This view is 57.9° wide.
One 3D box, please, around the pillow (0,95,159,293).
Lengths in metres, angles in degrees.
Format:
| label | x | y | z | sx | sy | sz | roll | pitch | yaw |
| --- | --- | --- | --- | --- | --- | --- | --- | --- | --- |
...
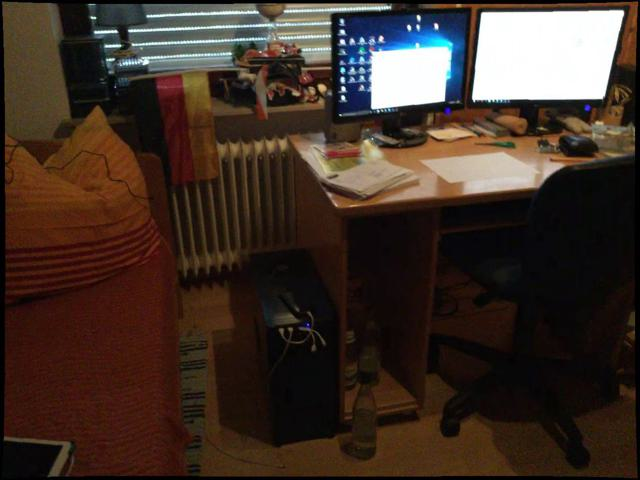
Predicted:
| label | x | y | z | sx | sy | sz | roll | pitch | yaw |
| --- | --- | --- | --- | --- | --- | --- | --- | --- | --- |
| pillow | -0.829 | -0.170 | 1.890 | 0.500 | 0.440 | 0.430 | -11 | 30 | -11 |

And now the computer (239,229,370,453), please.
| label | x | y | z | sx | sy | sz | roll | pitch | yaw |
| --- | --- | --- | --- | --- | --- | --- | --- | --- | --- |
| computer | -0.060 | 0.310 | 1.930 | 0.290 | 0.470 | 0.520 | -11 | 30 | -11 |
